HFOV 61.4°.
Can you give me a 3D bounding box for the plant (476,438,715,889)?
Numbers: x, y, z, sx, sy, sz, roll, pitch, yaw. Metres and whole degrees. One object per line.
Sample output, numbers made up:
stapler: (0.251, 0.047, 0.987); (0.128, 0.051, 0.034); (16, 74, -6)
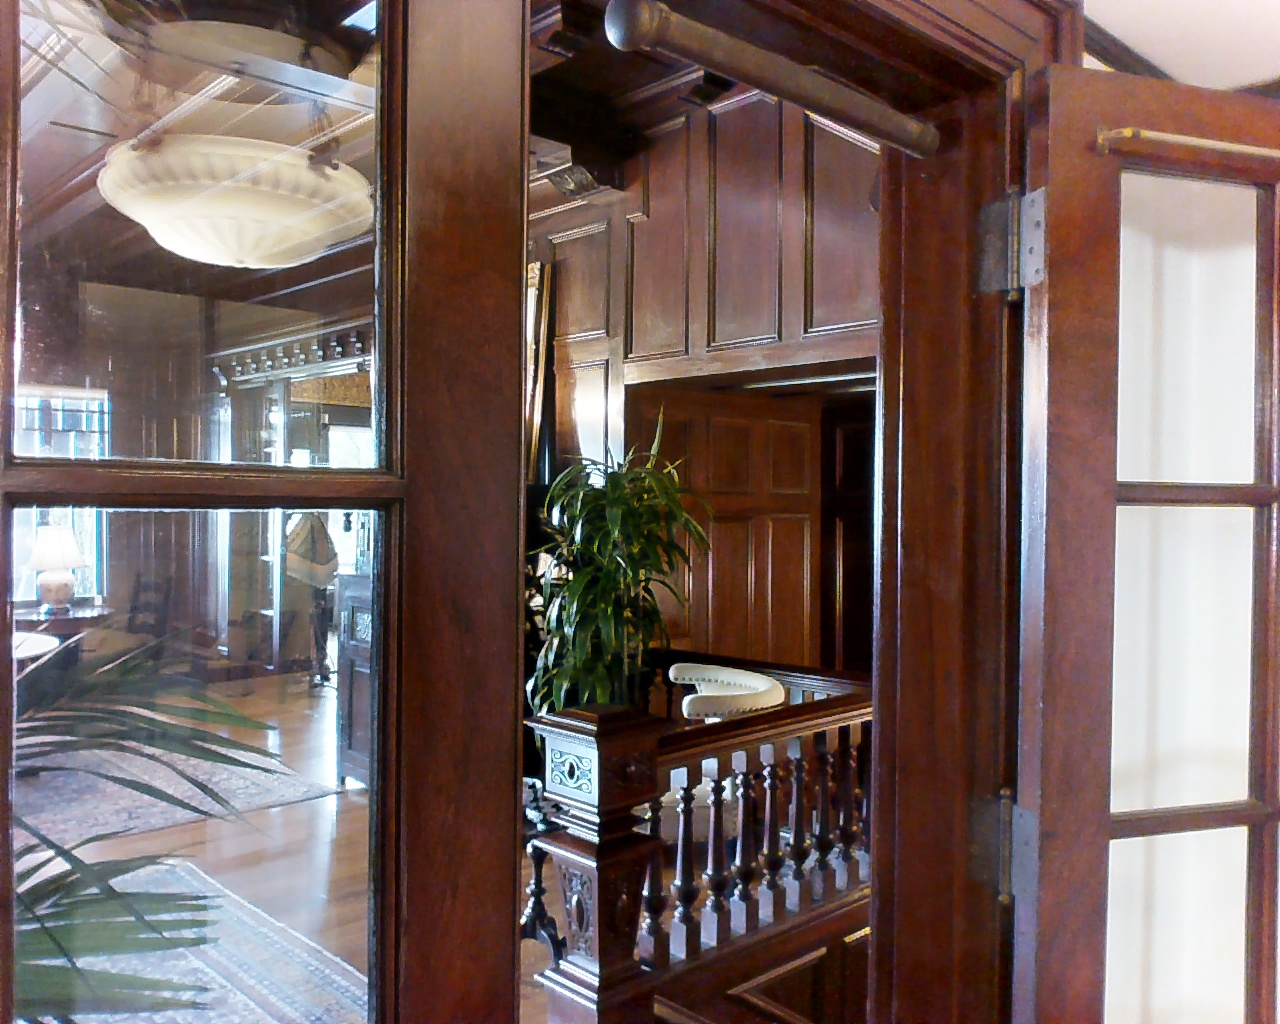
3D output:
plant: (-0.200, 0.590, 4.740); (0.710, 1.770, 0.770); (0, 1, -43)
